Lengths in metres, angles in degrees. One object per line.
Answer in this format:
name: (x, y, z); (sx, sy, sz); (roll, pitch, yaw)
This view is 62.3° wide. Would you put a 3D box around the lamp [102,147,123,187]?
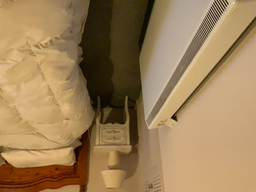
lamp: (-0.180, 0.790, 2.360); (0.220, 0.390, 0.210); (1, 154, -7)
